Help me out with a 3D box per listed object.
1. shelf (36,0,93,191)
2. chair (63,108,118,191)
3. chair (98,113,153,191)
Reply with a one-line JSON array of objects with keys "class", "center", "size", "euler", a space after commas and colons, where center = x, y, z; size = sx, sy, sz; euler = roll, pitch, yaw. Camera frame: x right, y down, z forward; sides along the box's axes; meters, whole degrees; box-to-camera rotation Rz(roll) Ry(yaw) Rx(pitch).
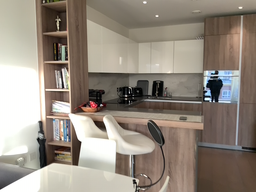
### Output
[{"class": "shelf", "center": [-0.760, -0.090, 2.620], "size": [0.390, 2.490, 0.470], "euler": [2, 6, 22]}, {"class": "chair", "center": [-0.410, 0.690, 2.370], "size": [0.380, 1.020, 0.440], "euler": [5, 8, 43]}, {"class": "chair", "center": [0.000, 0.710, 2.080], "size": [0.440, 1.020, 0.410], "euler": [1, 6, 12]}]
